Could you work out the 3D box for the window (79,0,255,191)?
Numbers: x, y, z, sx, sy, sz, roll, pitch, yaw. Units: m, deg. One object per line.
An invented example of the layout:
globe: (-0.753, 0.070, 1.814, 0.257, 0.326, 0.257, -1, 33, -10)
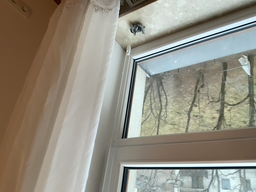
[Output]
window: (0.370, 0.450, 0.570, 1.200, 2.140, 0.250, -10, 146, 29)
